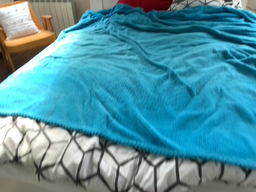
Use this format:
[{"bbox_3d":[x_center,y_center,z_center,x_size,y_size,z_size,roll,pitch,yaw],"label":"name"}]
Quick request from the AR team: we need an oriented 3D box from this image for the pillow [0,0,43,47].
[{"bbox_3d":[-1.260,-0.840,2.410,0.340,0.410,0.290,-33,18,-31],"label":"pillow"}]

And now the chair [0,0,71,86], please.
[{"bbox_3d":[-1.180,-0.660,2.440,0.630,0.700,0.670,-32,46,-33],"label":"chair"}]
